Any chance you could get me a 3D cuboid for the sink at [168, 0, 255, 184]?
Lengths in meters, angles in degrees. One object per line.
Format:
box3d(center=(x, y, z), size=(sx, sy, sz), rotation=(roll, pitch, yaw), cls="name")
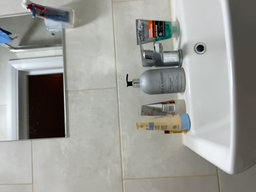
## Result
box3d(center=(0.220, -0.140, 0.510), size=(0.410, 0.160, 0.550), rotation=(56, -150, -83), cls="sink")
